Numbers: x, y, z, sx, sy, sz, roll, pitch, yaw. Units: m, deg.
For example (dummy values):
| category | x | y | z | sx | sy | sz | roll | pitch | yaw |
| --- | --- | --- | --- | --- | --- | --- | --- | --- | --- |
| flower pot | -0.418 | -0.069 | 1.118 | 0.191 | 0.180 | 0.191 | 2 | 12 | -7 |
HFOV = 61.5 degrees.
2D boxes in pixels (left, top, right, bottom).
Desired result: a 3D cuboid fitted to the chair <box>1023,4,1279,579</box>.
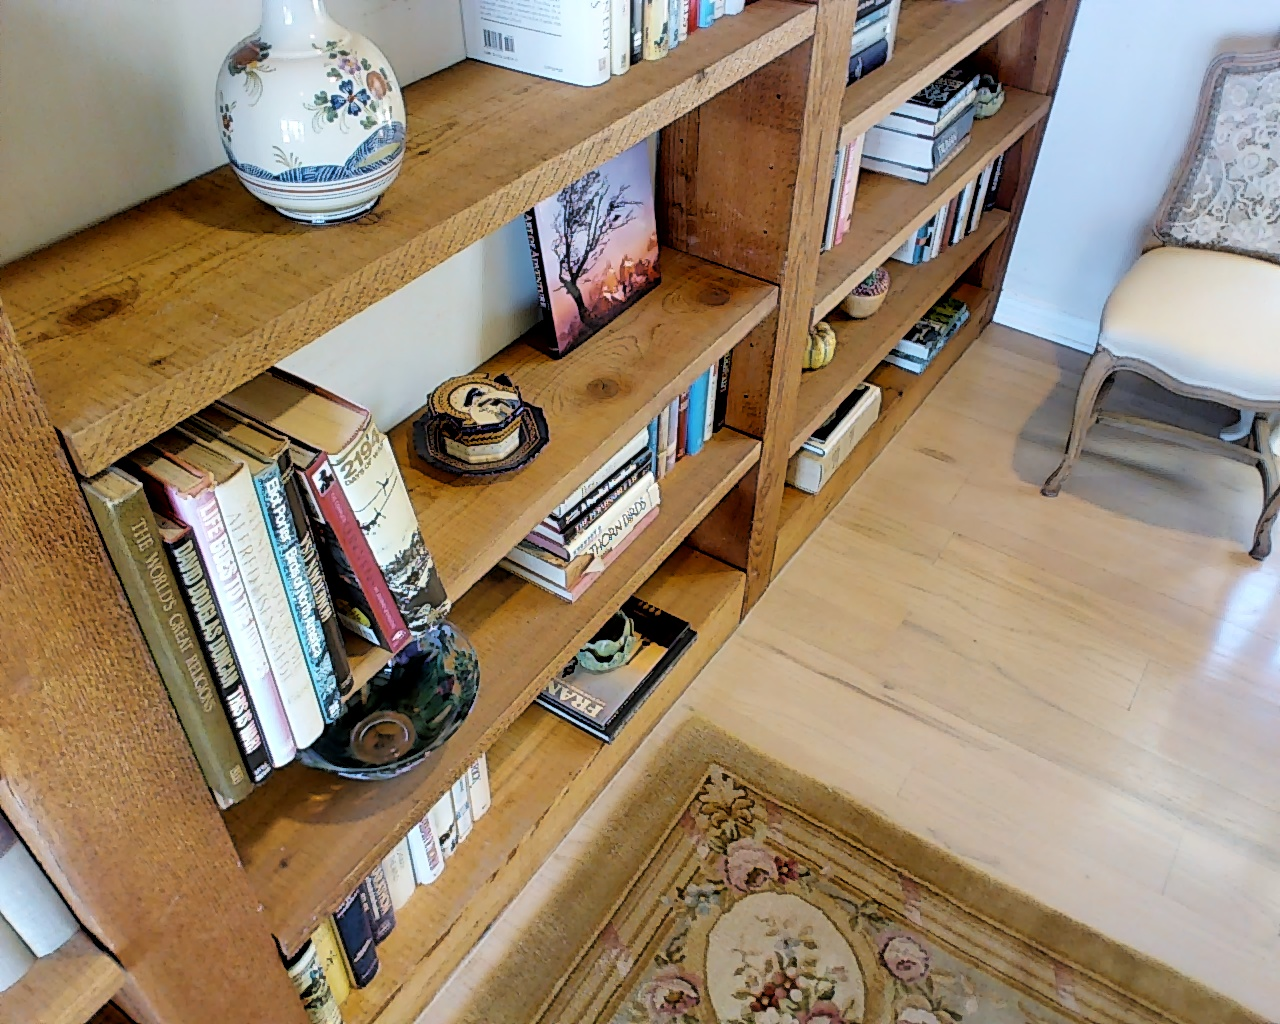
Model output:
| category | x | y | z | sx | sy | sz | roll | pitch | yaw |
| --- | --- | --- | --- | --- | --- | --- | --- | --- | --- |
| chair | 1.350 | -0.490 | 2.370 | 0.550 | 0.920 | 0.690 | 25 | 47 | 24 |
